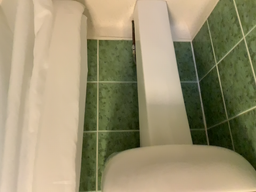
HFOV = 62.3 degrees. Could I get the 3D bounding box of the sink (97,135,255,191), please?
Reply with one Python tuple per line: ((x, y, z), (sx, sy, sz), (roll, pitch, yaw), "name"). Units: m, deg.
((0.150, 0.260, 0.770), (0.500, 0.160, 0.400), (-1, 161, -6), "sink")
